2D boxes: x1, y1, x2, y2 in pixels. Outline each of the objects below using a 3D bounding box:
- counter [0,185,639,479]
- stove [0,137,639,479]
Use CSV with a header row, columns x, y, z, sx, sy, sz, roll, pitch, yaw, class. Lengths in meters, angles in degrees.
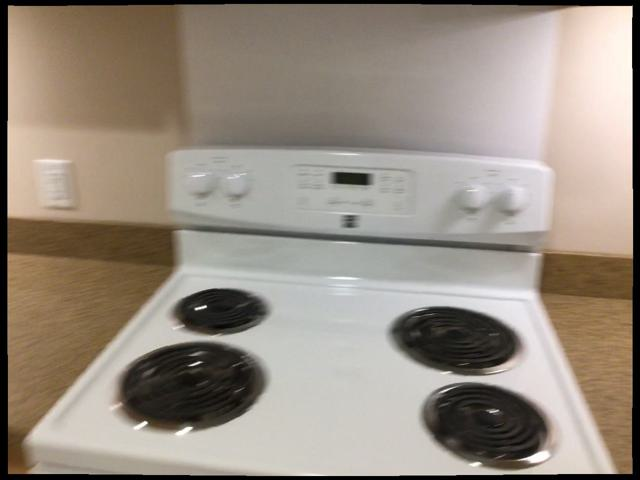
x,y,z,sx,sy,sz,roll,pitch,yaw,class
-0.589,0.150,1.190,3.084,0.300,0.730,4,22,10,counter
0.030,0.481,1.140,0.848,1.182,0.790,4,22,10,stove
